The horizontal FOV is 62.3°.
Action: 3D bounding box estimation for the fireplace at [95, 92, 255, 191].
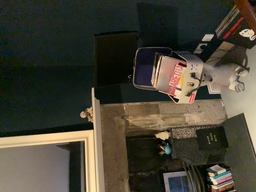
[{"bbox_3d":[0.440,0.960,2.090,0.660,1.400,1.860,117,149,-67],"label":"fireplace"}]
